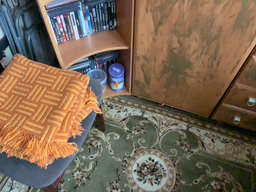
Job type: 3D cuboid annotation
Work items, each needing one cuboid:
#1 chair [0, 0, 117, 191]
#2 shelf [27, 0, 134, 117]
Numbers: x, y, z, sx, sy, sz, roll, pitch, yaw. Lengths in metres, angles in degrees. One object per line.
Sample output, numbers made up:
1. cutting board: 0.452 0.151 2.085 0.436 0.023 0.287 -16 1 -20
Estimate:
1. chair: -0.410 0.010 0.790 0.570 1.020 0.470 18 58 11
2. shelf: -0.230 -0.400 1.030 0.370 1.090 0.450 -17 58 -12
